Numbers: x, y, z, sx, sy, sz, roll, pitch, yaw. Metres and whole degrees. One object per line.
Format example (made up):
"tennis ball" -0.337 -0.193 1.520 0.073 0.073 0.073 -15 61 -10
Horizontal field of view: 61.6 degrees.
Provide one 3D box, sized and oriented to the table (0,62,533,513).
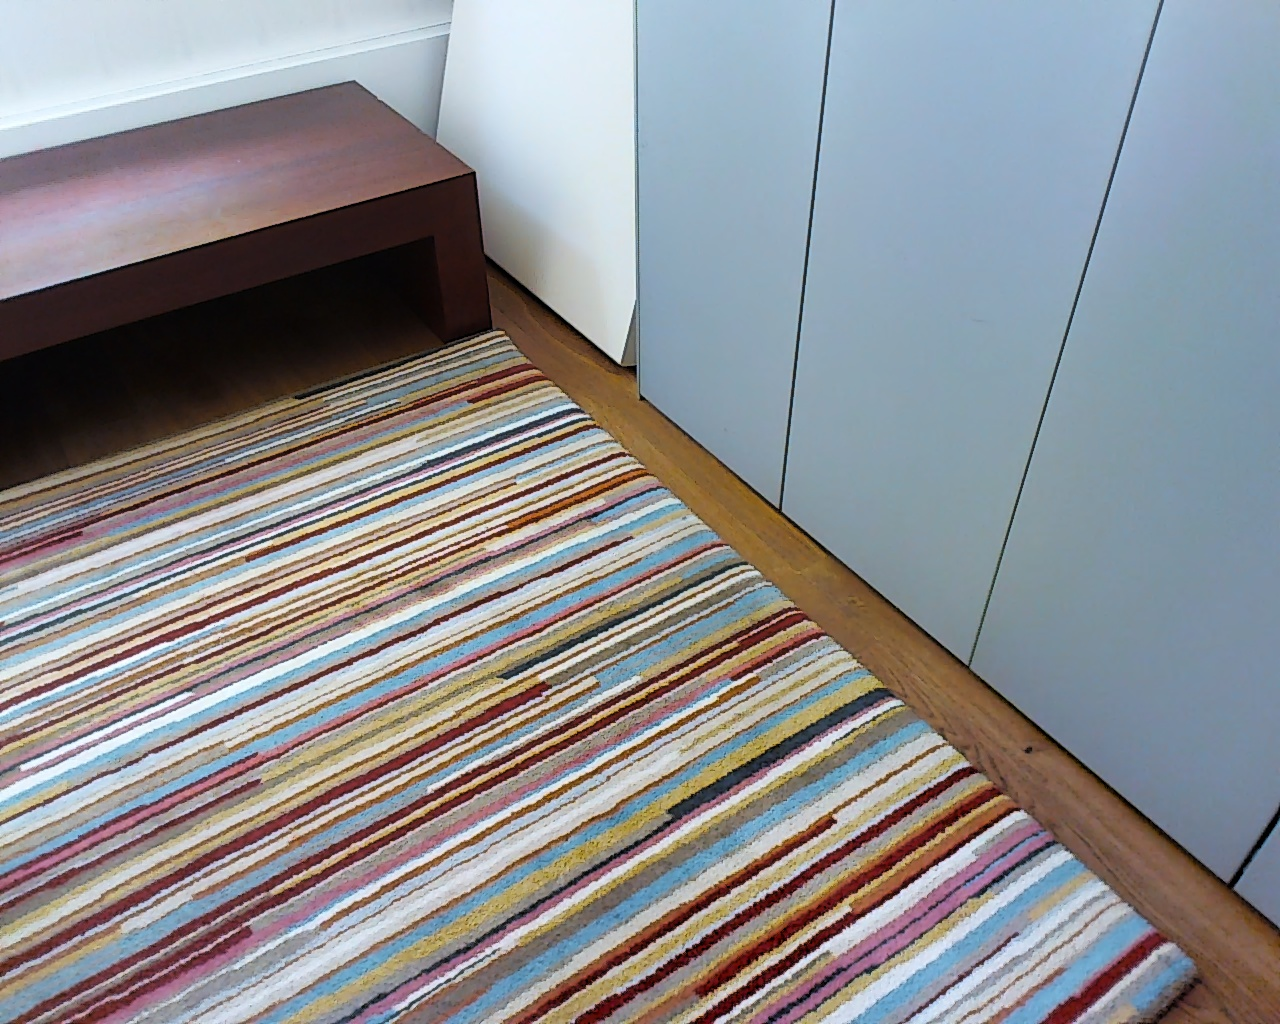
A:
"table" -1.130 -0.540 2.450 1.550 0.430 0.790 -24 46 -24
